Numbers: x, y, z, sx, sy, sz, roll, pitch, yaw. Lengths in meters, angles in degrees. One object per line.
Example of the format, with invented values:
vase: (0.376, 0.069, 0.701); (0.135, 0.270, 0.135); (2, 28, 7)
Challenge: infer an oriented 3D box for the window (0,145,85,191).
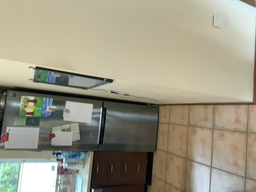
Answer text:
window: (-1.420, 1.400, 2.920); (0.230, 1.460, 1.370); (-5, 78, 64)
